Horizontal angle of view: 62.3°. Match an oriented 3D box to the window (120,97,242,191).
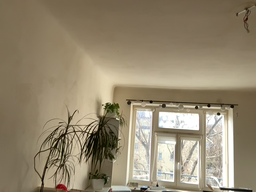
[{"bbox_3d":[1.000,0.940,4.160,2.180,1.750,0.260,2,-10,9],"label":"window"}]
